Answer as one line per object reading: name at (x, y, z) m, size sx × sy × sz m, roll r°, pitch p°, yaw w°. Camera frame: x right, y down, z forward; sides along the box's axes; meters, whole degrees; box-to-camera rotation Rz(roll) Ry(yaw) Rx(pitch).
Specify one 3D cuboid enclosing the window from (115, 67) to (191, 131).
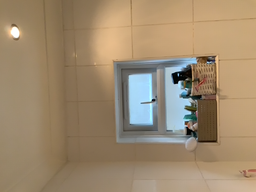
window at (0.190, 0.030, 1.660) m, size 0.030 × 0.580 × 0.490 m, roll -34°, pitch -56°, yaw -84°
